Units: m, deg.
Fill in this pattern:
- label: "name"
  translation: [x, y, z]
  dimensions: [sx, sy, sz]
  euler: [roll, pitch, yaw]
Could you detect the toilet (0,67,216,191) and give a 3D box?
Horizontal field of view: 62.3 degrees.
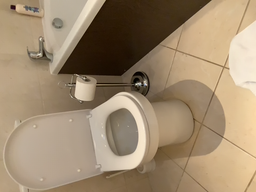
- label: "toilet"
  translation: [-0.130, 0.190, 1.120]
  dimensions: [0.650, 0.890, 0.390]
  euler: [-35, 66, 49]
